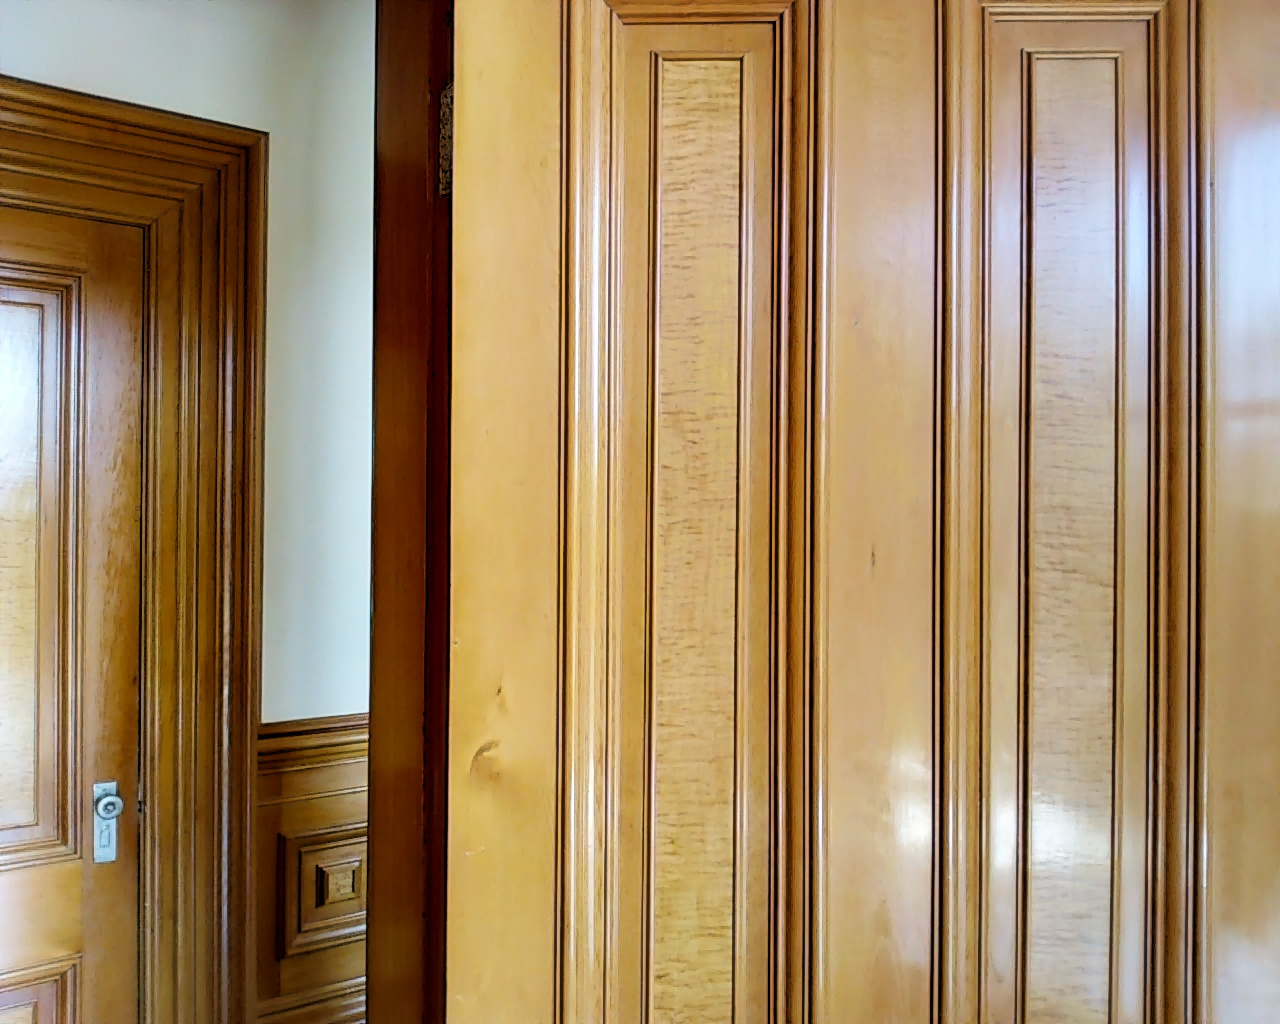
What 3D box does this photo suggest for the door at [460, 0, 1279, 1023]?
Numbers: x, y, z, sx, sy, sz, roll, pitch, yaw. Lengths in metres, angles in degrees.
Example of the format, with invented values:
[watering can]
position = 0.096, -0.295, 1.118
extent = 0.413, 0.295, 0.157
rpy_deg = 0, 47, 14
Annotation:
[door]
position = 0.290, 0.400, 1.130
extent = 0.950, 2.260, 0.070
rpy_deg = 0, -1, 2
